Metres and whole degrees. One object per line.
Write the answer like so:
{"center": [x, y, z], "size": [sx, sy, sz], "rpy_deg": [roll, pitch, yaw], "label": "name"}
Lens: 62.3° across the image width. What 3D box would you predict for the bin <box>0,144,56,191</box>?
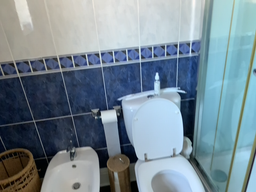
{"center": [-0.740, 0.640, 1.490], "size": [0.310, 0.460, 0.320], "rpy_deg": [-6, 28, -5], "label": "bin"}
